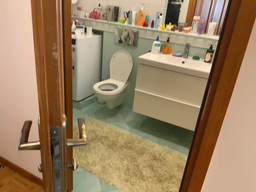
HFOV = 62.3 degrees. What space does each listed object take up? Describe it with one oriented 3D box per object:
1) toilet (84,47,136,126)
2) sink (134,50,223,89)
[{"bbox_3d":[-0.230,-0.140,2.690,0.370,0.820,0.540,17,26,22],"label":"toilet"},{"bbox_3d":[0.540,-0.310,2.240,0.810,0.140,0.490,17,26,22],"label":"sink"}]
